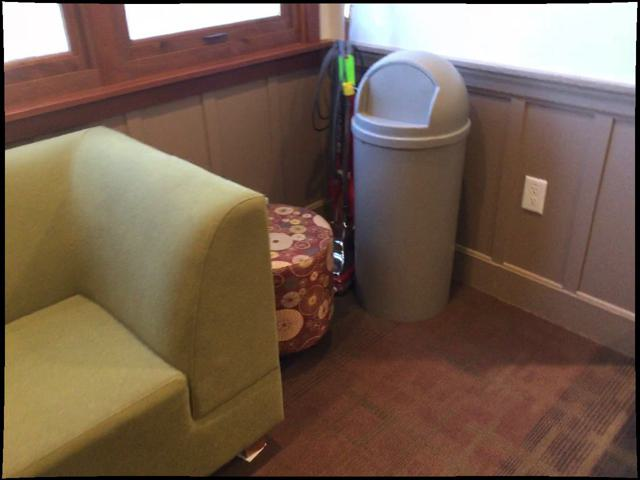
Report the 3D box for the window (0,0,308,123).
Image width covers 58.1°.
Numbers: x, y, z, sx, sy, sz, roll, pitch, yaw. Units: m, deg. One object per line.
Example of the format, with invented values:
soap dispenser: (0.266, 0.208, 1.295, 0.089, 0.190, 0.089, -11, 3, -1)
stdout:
window: (-0.728, -0.662, 1.720, 1.728, 0.441, 0.150, -28, 39, -36)
